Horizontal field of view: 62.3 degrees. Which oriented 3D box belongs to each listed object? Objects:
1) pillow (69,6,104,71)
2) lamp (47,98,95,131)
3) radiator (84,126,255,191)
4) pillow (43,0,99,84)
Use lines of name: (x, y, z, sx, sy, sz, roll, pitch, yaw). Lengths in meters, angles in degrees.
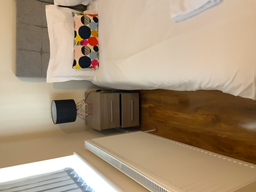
pillow: (-0.420, -0.580, 2.190, 0.190, 0.330, 0.610, 164, 107, -83)
lamp: (-0.610, 0.180, 2.260, 0.320, 0.410, 0.280, 4, 96, 58)
radiator: (0.270, 0.390, 1.470, 1.210, 0.760, 0.070, 5, 96, 58)
pillow: (-0.600, -0.550, 2.270, 0.230, 0.540, 0.830, -174, 85, -78)
